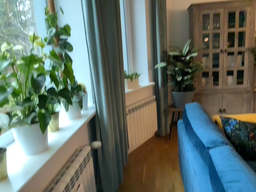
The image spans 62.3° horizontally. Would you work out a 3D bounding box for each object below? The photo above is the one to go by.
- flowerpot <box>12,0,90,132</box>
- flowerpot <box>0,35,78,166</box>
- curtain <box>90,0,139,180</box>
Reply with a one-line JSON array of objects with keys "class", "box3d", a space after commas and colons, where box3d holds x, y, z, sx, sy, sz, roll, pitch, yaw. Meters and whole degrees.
[{"class": "flowerpot", "box3d": [-0.580, -0.220, 1.720, 0.340, 0.940, 0.360, -2, 13, 9]}, {"class": "flowerpot", "box3d": [-0.600, 0.010, 1.260, 0.410, 0.670, 0.360, -2, 13, 9]}, {"class": "curtain", "box3d": [-0.130, -0.530, 2.410, 0.300, 2.870, 0.700, -2, 13, 9]}]
